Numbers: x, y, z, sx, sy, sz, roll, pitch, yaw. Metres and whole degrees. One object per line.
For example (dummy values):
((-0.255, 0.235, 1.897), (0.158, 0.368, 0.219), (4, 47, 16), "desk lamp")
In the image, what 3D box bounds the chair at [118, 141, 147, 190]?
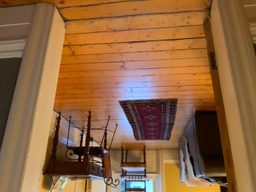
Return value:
((0.120, 1.650, 5.040), (0.620, 1.040, 0.660), (-1, 157, 5), "chair")

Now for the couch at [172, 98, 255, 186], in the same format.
((1.400, 0.930, 3.380), (1.090, 0.900, 2.510), (-2, 157, 6), "couch")
